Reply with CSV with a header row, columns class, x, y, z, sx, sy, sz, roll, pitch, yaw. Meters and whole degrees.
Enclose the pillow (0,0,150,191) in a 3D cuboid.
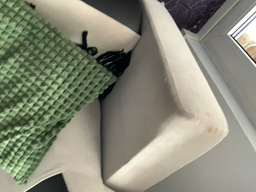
class,x,y,z,sx,sy,sz,roll,pitch,yaw
pillow,-0.270,-0.020,0.550,0.410,0.440,0.250,-47,174,33
